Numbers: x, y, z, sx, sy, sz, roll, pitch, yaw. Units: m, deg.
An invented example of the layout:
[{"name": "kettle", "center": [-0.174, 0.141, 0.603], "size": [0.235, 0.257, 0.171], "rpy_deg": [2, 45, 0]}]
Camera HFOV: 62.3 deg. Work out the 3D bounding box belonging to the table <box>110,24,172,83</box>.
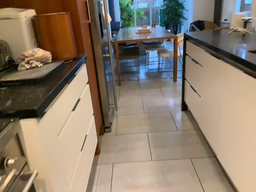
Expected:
[{"name": "table", "center": [0.300, -1.070, 4.700], "size": [1.030, 0.780, 2.340], "rpy_deg": [-2, 23, 5]}]
